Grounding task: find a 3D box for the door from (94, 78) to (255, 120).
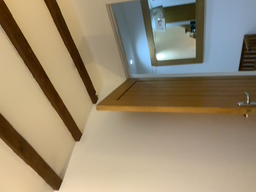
[{"bbox_3d":[0.780,-0.010,1.510,0.690,1.920,0.040,-52,-40,-63],"label":"door"}]
